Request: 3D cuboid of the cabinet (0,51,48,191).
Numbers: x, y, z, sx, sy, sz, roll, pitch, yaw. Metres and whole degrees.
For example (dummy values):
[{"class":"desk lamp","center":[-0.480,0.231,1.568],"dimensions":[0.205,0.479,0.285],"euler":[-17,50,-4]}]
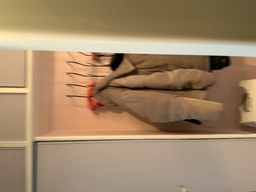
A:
[{"class":"cabinet","center":[-0.740,0.400,1.410],"dimensions":[0.380,0.290,1.320],"euler":[171,100,-82]}]
